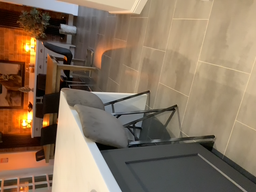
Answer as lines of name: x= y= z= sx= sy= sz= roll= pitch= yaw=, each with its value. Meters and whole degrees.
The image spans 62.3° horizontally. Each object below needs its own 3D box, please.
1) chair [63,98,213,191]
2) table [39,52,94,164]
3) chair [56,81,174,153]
chair: x=0.060 y=0.300 z=1.540 sx=0.450 sy=0.920 sz=0.410 roll=45 pitch=128 yaw=54
table: x=-1.360 y=0.220 z=4.470 sx=1.020 sy=0.770 sz=2.010 roll=40 pitch=124 yaw=56
chair: x=-0.130 y=0.160 z=1.930 sx=0.450 sy=0.920 sz=0.410 roll=45 pitch=128 yaw=54
